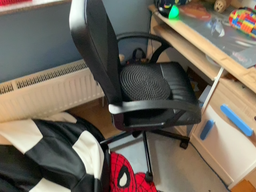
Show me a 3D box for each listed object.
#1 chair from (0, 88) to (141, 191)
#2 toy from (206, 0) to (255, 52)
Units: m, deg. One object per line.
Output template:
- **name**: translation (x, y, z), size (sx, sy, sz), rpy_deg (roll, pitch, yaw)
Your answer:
- **chair**: translation (-0.520, 0.460, 1.140), size (0.920, 0.330, 0.770), rpy_deg (-20, 52, -20)
- **toy**: translation (0.690, -0.470, 1.130), size (0.250, 0.280, 0.380), rpy_deg (-23, 54, -23)
